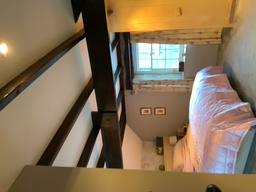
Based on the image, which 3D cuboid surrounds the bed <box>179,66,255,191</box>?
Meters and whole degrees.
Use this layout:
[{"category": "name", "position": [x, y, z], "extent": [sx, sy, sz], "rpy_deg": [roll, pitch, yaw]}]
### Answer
[{"category": "bed", "position": [1.460, 0.890, 4.020], "extent": [1.750, 0.630, 2.380], "rpy_deg": [-79, -12, -57]}]
